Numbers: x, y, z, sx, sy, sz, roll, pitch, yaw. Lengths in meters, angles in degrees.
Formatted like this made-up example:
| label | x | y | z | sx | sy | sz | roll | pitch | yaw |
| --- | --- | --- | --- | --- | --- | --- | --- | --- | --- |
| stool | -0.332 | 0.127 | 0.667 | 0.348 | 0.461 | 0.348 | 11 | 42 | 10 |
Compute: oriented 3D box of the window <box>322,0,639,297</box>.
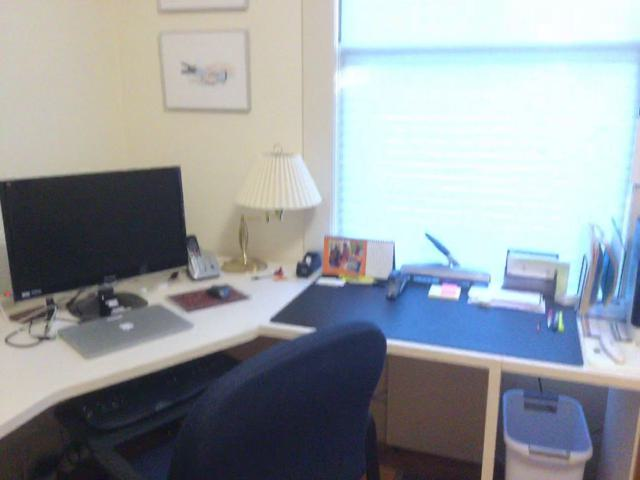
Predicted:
| label | x | y | z | sx | sy | sz | roll | pitch | yaw |
| --- | --- | --- | --- | --- | --- | --- | --- | --- | --- |
| window | 0.530 | -0.650 | 1.900 | 1.040 | 1.600 | 0.090 | 6 | 14 | 18 |

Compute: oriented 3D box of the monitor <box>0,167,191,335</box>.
| label | x | y | z | sx | sy | sz | roll | pitch | yaw |
| --- | --- | --- | --- | --- | --- | --- | --- | --- | --- |
| monitor | -0.680 | 0.010 | 1.810 | 0.500 | 0.430 | 0.170 | -10 | 18 | -38 |

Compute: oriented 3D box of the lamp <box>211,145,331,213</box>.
| label | x | y | z | sx | sy | sz | roll | pitch | yaw |
| --- | --- | --- | --- | --- | --- | --- | --- | --- | --- |
| lamp | -0.170 | -0.230 | 2.100 | 0.340 | 0.190 | 0.300 | 6 | 14 | 18 |

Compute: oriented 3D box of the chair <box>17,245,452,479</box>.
| label | x | y | z | sx | sy | sz | roll | pitch | yaw |
| --- | --- | --- | --- | --- | --- | --- | --- | --- | --- |
| chair | -0.210 | 0.610 | 1.390 | 0.690 | 0.990 | 0.680 | -11 | 18 | -40 |
